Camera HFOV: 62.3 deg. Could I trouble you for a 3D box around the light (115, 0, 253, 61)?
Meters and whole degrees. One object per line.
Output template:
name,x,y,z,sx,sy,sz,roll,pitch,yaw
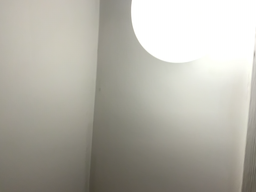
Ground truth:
light,0.110,-0.170,0.390,0.200,0.170,0.180,-1,-85,-49
